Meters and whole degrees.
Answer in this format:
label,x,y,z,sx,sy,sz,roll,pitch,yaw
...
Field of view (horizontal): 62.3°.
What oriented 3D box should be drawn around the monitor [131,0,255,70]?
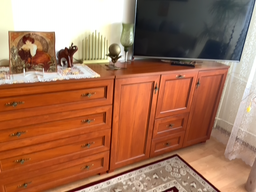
label,x,y,z,sx,sy,sz,roll,pitch,yaw
monitor,0.610,-0.620,2.010,1.100,0.660,0.070,4,22,-4
